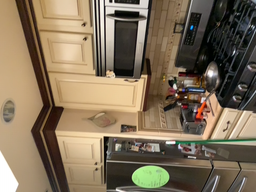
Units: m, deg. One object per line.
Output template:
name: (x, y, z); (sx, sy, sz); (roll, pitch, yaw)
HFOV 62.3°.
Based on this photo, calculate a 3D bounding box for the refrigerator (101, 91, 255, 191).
refrigerator: (0.650, 0.630, 2.390); (0.860, 1.790, 0.900); (-88, 3, -50)

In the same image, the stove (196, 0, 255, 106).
stove: (0.780, -0.420, 1.630); (0.680, 0.160, 0.720); (-88, 3, -50)
